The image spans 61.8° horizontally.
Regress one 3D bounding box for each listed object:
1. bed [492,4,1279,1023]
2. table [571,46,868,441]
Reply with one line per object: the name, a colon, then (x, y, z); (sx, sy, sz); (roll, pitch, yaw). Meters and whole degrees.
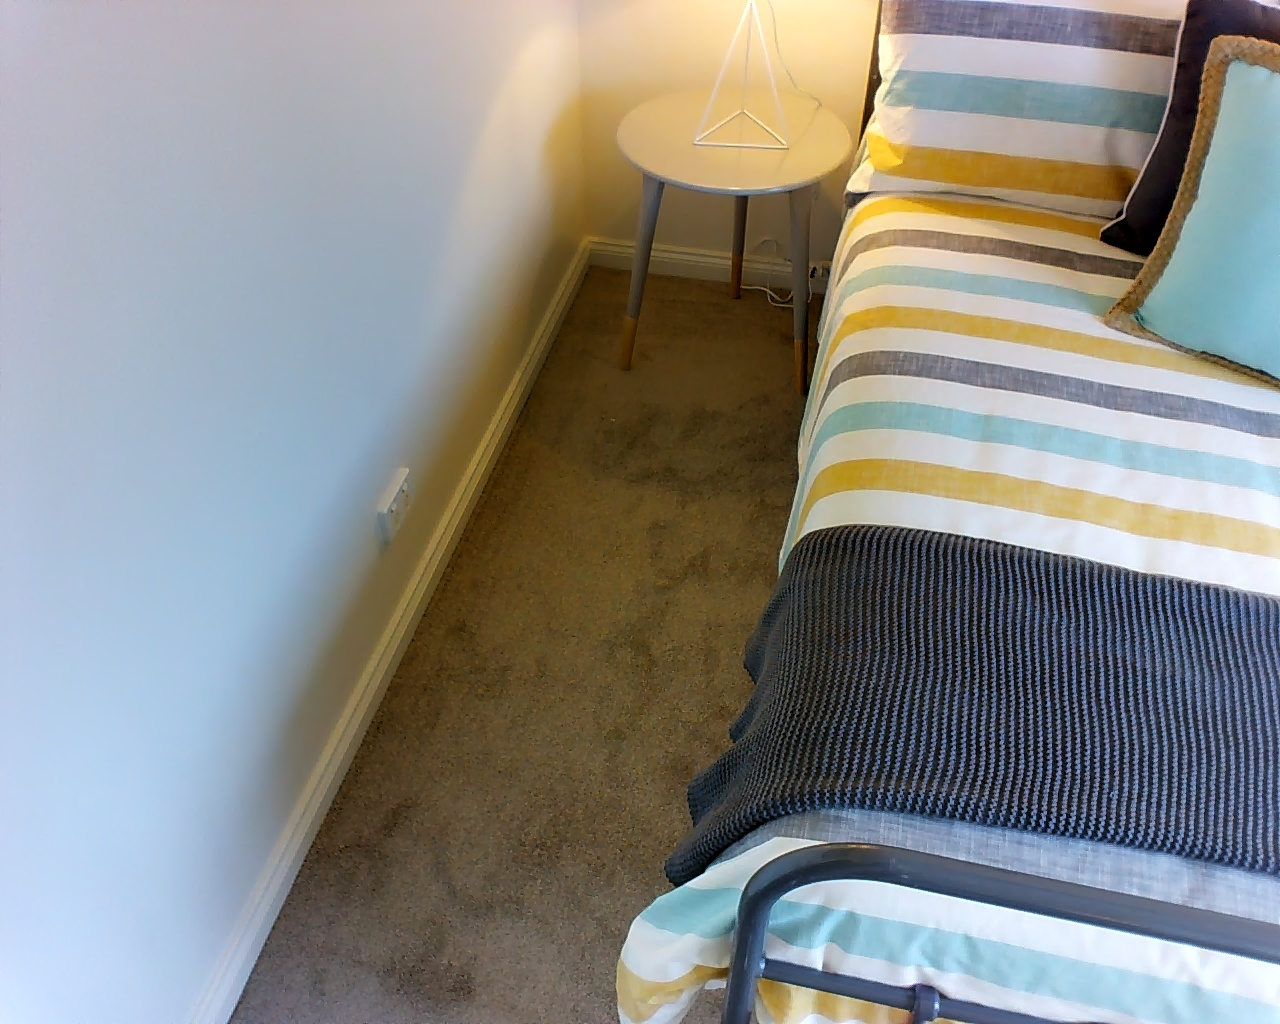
bed: (0.980, -0.010, 1.700); (1.800, 0.700, 2.180); (8, 44, 8)
table: (0.190, -0.620, 2.440); (0.530, 0.610, 0.600); (8, 44, 9)
